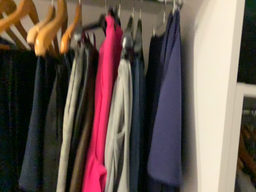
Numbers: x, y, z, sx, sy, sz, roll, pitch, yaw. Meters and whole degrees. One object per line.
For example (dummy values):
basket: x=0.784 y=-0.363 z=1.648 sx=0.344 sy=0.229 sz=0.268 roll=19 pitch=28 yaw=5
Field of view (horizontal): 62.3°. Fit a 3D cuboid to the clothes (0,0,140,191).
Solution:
clothes: x=-0.350 y=0.150 z=0.720 sx=0.630 sy=0.970 sz=0.470 roll=4 pitch=2 yaw=-9
